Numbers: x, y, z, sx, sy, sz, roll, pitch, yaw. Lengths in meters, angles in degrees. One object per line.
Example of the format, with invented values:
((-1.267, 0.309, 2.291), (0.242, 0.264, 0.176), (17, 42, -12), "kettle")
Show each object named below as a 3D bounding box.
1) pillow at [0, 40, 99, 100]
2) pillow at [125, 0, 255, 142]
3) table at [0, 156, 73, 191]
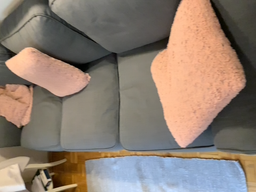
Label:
((-0.520, -0.130, 1.380), (0.470, 0.460, 0.200), (-10, 80, 22), "pillow")
((0.200, -0.090, 0.740), (0.190, 0.460, 0.430), (-26, 85, -11), "pillow")
((-0.930, 0.830, 1.870), (0.450, 0.740, 0.450), (-10, 80, 38), "table")
